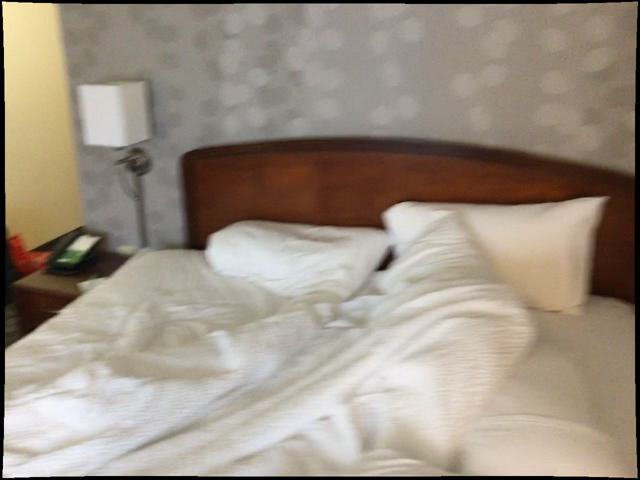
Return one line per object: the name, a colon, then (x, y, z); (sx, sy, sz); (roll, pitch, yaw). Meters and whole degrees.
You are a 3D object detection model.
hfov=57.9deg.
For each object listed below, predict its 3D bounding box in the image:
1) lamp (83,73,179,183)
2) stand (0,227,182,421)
lamp: (-0.749, -0.460, 2.340); (0.220, 0.380, 0.270); (7, 24, 14)
stand: (-0.959, 0.330, 2.480); (0.490, 0.580, 0.510); (7, 24, 14)
